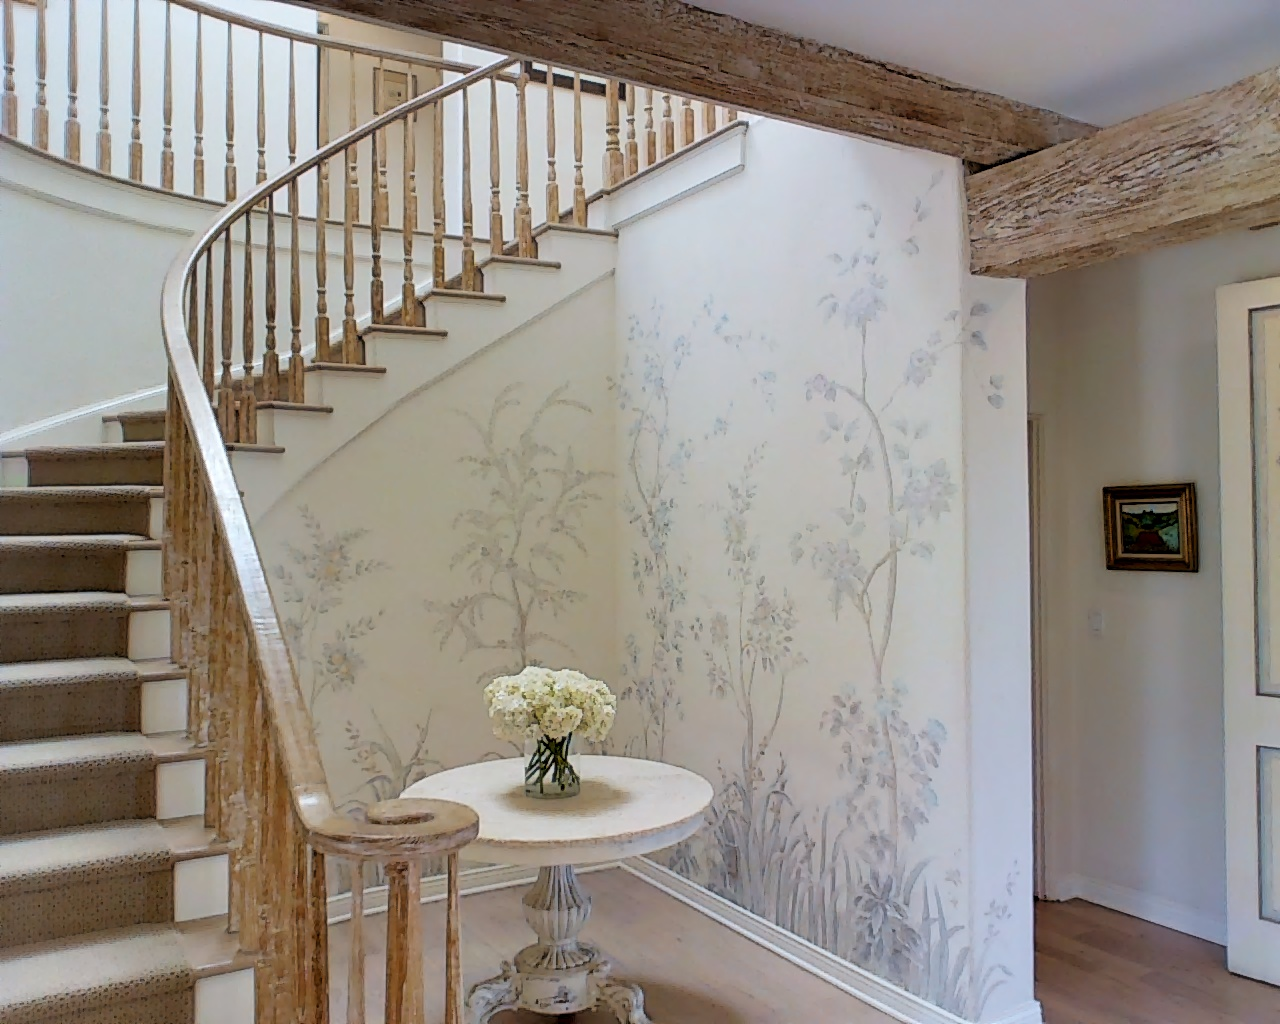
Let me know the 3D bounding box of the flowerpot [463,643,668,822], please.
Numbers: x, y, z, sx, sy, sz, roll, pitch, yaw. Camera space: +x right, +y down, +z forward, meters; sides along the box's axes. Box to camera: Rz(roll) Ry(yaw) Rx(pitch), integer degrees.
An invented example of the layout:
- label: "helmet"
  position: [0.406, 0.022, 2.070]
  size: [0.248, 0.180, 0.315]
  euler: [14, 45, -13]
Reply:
- label: "flowerpot"
  position: [-0.250, 0.690, 3.490]
  size: [0.510, 0.450, 0.460]
  euler: [0, 0, -30]

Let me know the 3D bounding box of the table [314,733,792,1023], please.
- label: "table"
  position: [-0.260, 1.260, 3.480]
  size: [1.100, 0.780, 1.080]
  euler: [-1, 0, 37]

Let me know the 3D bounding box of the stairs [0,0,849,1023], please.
- label: "stairs"
  position: [-1.340, 0.070, 3.390]
  size: [2.839, 4.541, 2.290]
  euler: [8, -5, -31]
